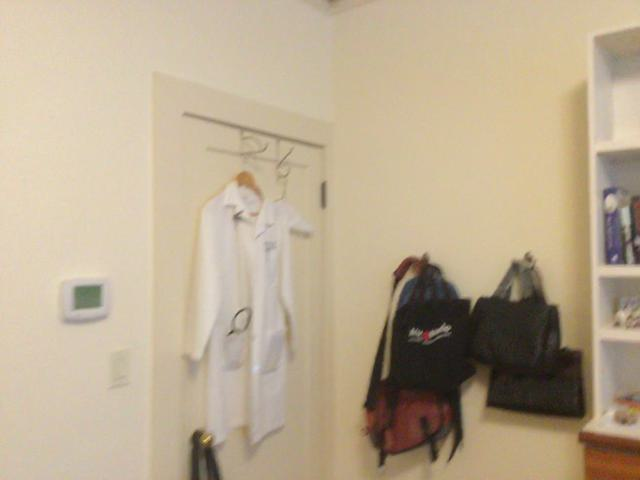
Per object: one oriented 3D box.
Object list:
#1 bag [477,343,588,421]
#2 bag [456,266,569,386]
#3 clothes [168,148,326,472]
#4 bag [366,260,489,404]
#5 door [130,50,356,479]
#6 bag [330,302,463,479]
[{"bbox_3d":[0.730,0.480,2.000,0.330,0.210,0.130,-3,-2,37],"label":"bag"},{"bbox_3d":[0.660,0.280,1.990,0.310,0.370,0.190,-3,-2,37],"label":"bag"},{"bbox_3d":[-0.240,0.220,2.100,0.150,1.010,0.630,-3,-2,37],"label":"clothes"},{"bbox_3d":[0.400,0.320,2.160,0.370,0.480,0.240,-3,-2,37],"label":"bag"},{"bbox_3d":[-0.220,0.480,2.130,0.170,2.080,0.960,-3,-2,37],"label":"door"},{"bbox_3d":[0.290,0.570,2.240,0.440,0.630,0.220,-3,-2,37],"label":"bag"}]
